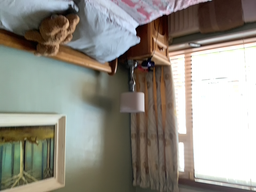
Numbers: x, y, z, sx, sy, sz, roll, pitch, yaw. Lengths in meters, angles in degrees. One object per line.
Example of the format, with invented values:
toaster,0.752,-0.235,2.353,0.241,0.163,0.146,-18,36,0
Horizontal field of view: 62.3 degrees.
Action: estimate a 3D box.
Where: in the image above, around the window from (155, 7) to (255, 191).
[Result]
window,1.090,0.140,1.990,1.780,1.920,0.070,-3,174,33
